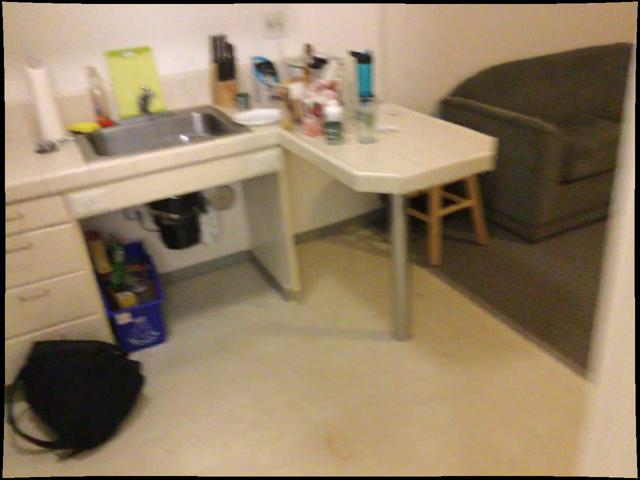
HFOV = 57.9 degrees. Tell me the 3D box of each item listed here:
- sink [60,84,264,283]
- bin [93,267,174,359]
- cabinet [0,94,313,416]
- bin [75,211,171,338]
[{"bbox_3d":[-0.649,-0.270,2.390,0.600,0.540,0.570,-18,31,-22],"label":"sink"},{"bbox_3d":[-0.779,0.300,2.420,0.240,0.240,0.220,-18,31,-22],"label":"bin"},{"bbox_3d":[-0.769,-0.020,2.420,1.269,0.831,0.640,-18,31,-22],"label":"cabinet"},{"bbox_3d":[-0.869,0.140,2.550,0.260,0.380,0.370,-18,31,-22],"label":"bin"}]
